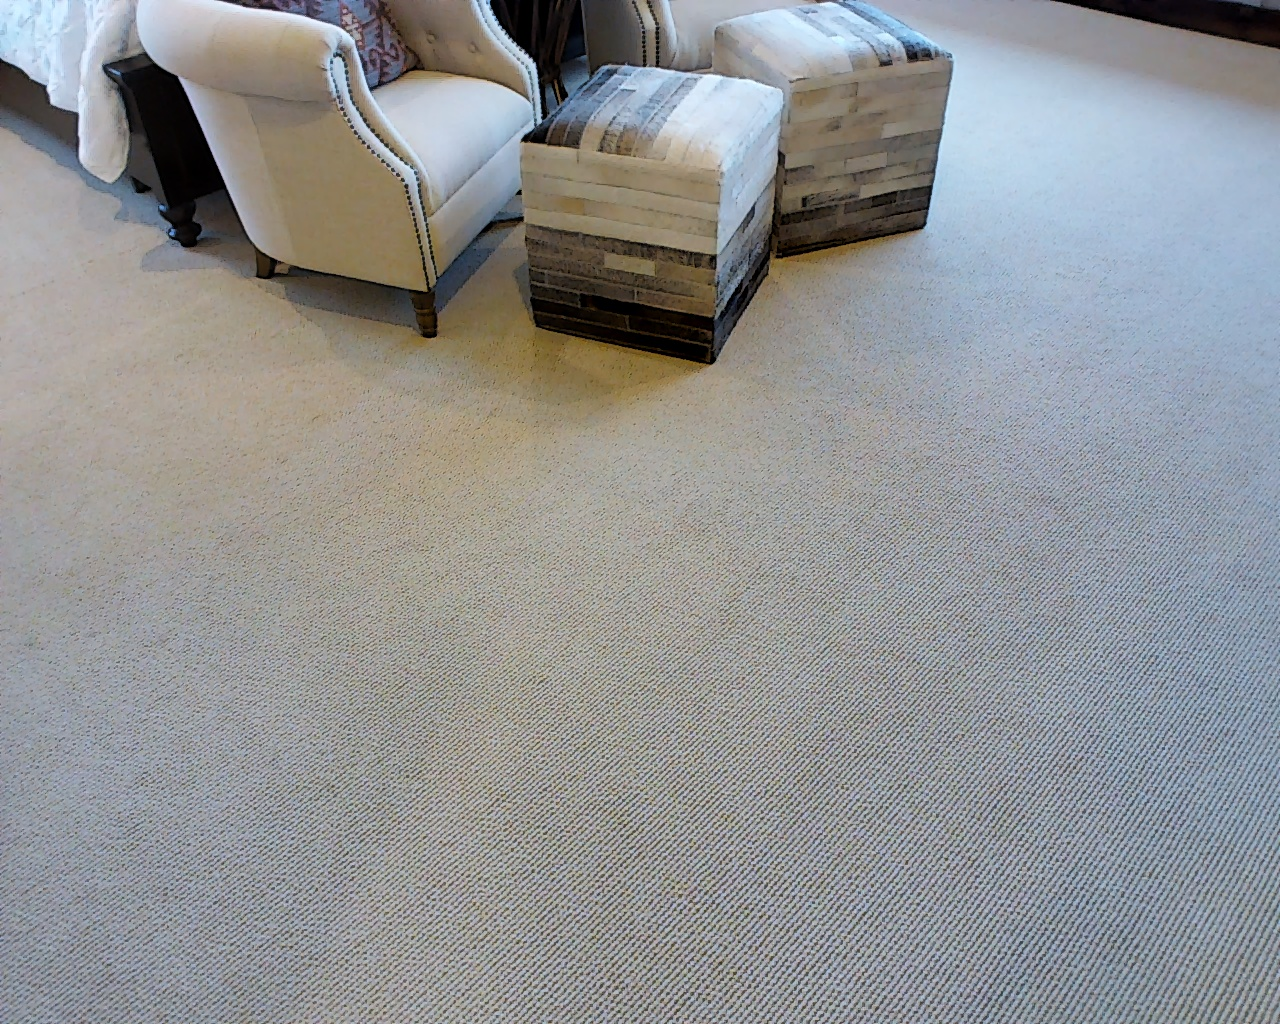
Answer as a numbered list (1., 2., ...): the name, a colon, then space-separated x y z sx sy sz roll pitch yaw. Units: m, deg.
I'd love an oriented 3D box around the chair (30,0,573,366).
1. chair: -0.740 -0.980 2.670 0.810 0.720 0.870 15 44 17
